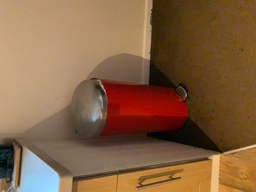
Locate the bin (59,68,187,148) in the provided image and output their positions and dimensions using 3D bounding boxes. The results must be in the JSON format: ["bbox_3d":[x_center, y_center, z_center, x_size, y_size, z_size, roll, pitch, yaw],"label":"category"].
[{"bbox_3d":[0.000,0.080,1.230,0.320,0.670,0.340,0,85,51],"label":"bin"}]
